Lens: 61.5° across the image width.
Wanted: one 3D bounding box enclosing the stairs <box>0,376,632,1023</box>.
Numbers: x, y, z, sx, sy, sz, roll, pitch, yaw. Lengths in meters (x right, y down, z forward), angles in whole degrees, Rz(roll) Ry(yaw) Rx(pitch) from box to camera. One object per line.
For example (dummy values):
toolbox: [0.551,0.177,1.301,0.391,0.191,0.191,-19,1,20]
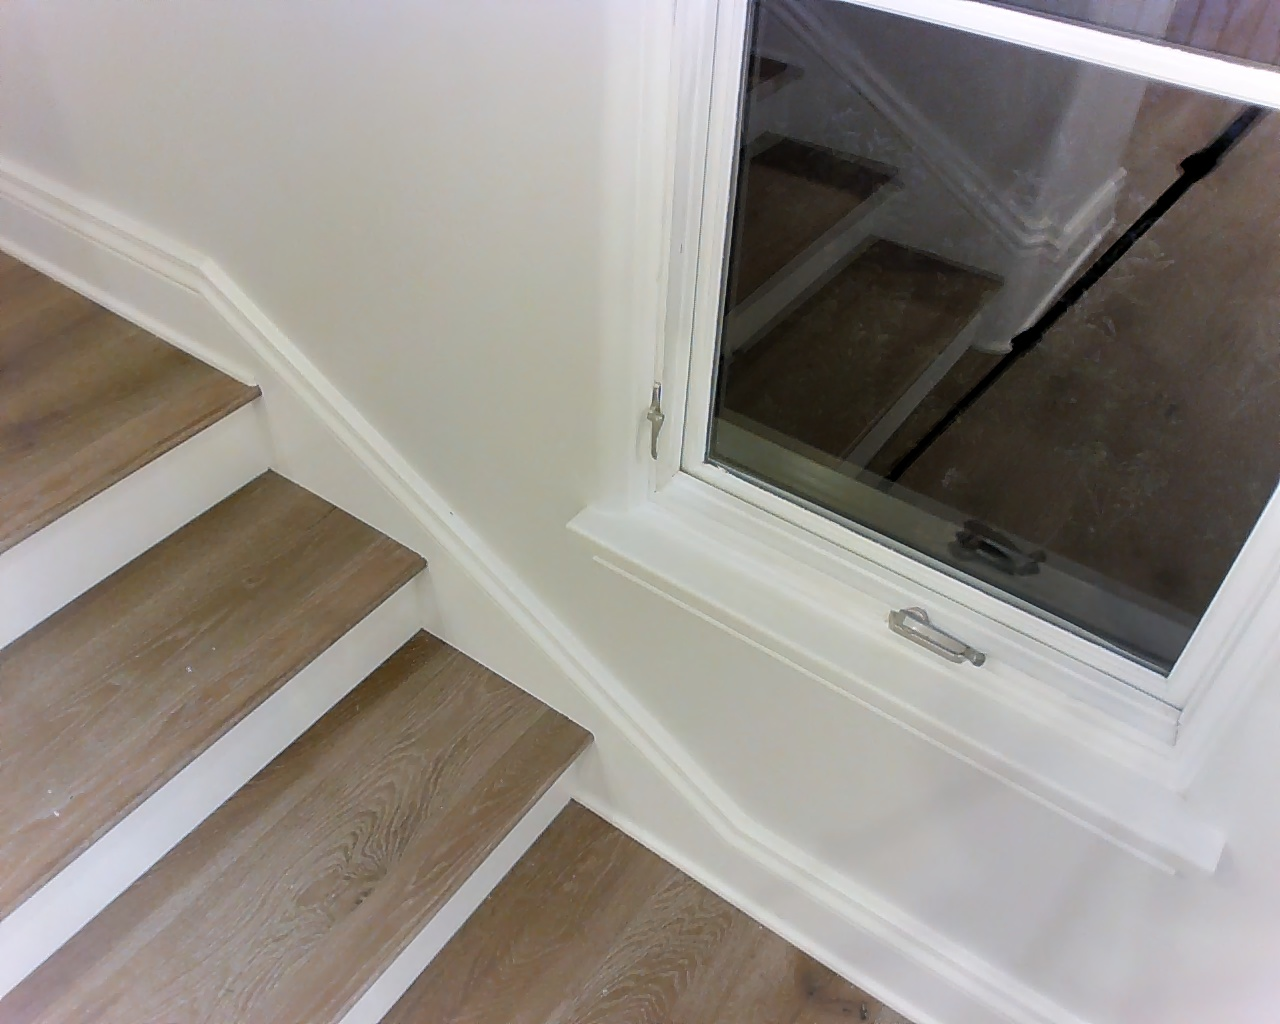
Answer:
stairs: [-0.750,0.540,1.380,0.730,0.570,1.480,28,49,24]
